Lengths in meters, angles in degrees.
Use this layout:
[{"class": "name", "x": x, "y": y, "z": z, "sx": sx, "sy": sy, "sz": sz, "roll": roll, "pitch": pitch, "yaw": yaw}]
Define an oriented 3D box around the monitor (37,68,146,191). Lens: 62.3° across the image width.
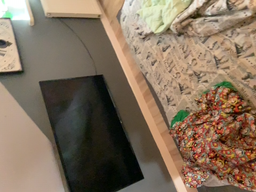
[{"class": "monitor", "x": -0.300, "y": 0.240, "z": 1.690, "sx": 0.040, "sy": 0.590, "sz": 1.020, "roll": -49, "pitch": 58, "yaw": 53}]
